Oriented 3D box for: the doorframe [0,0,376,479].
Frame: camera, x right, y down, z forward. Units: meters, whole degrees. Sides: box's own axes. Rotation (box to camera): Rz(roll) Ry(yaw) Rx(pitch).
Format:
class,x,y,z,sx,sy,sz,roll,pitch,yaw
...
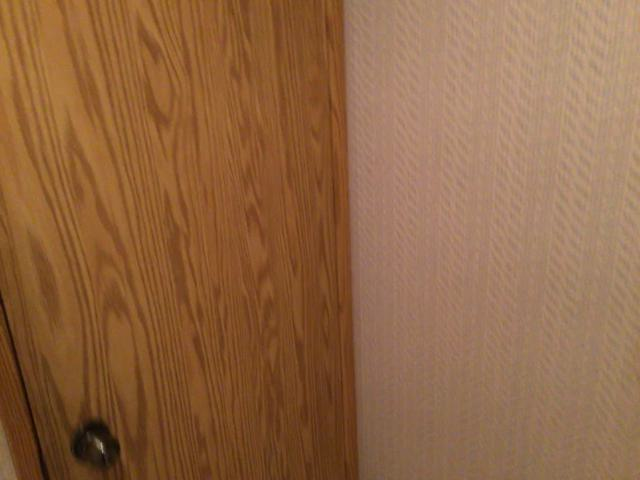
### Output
class,x,y,z,sx,sy,sz,roll,pitch,yaw
doorframe,-0.170,0.090,1.050,0.030,2.050,0.870,14,24,39
